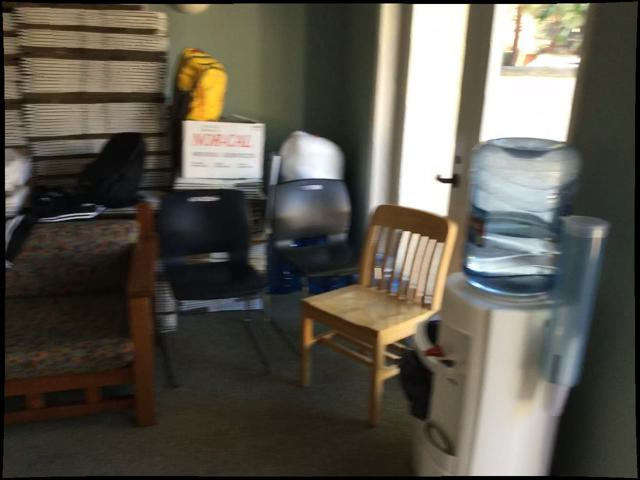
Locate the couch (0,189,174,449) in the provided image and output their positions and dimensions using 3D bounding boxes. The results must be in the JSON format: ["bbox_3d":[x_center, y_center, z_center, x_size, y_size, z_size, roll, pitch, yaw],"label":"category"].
[{"bbox_3d":[-1.738,0.340,2.610,2.008,0.801,0.980,-4,21,-11],"label":"couch"}]

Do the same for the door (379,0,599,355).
[{"bbox_3d":[0.599,-0.581,2.590,0.160,1.551,1.590,-4,20,-11],"label":"door"}]
